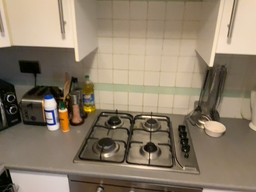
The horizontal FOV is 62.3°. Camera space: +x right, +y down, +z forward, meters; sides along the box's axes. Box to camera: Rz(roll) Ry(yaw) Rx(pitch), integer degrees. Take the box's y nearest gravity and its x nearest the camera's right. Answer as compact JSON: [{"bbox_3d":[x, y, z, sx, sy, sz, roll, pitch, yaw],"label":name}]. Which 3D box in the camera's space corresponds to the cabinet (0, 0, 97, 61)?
[{"bbox_3d":[-0.370,-0.590,1.000,0.330,0.750,0.370,4,25,5],"label":"cabinet"}]

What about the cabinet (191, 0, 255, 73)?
[{"bbox_3d":[0.520,-0.530,0.920,0.320,0.770,0.370,4,25,5],"label":"cabinet"}]
